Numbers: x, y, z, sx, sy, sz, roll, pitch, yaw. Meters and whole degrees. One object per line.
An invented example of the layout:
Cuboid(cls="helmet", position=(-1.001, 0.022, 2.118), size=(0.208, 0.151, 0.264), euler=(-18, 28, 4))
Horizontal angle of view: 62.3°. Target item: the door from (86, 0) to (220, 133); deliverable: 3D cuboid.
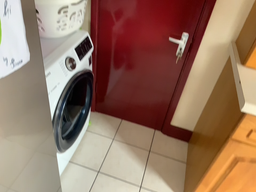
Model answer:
Cuboid(cls="door", position=(0.120, -0.550, 1.230), size=(0.750, 1.940, 0.040), euler=(16, 39, 7))
